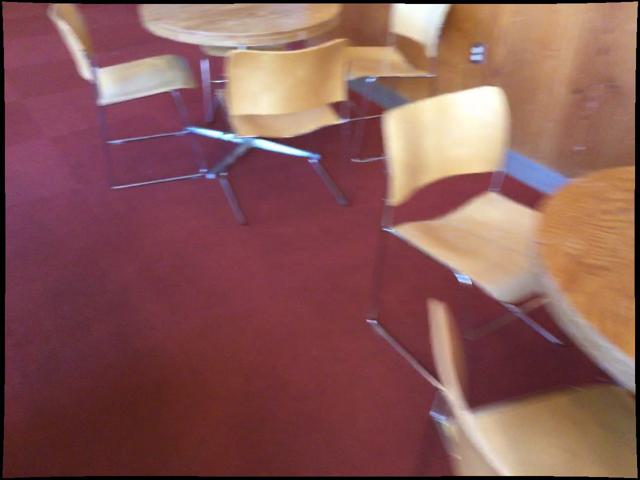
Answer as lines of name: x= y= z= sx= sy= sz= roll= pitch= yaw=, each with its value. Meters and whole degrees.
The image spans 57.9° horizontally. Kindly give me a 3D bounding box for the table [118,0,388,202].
table: x=-0.340 y=-0.841 z=2.870 sx=0.909 sy=0.710 sz=0.930 roll=-22 pitch=43 yaw=-27
